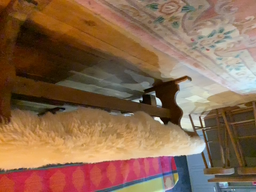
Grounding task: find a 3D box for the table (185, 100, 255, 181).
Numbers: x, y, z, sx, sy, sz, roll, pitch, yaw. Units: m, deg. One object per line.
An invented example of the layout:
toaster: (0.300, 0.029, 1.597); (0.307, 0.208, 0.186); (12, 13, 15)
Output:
table: (1.950, 0.590, 2.920); (1.920, 0.960, 0.900); (-18, 159, 38)
